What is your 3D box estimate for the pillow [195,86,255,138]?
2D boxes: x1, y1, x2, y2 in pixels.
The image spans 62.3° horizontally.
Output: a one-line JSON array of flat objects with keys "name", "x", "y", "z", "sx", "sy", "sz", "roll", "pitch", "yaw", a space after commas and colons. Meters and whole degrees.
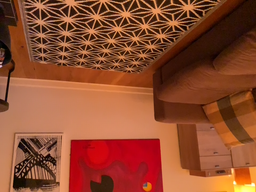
[{"name": "pillow", "x": 1.000, "y": 0.180, "z": 2.080, "sx": 0.200, "sy": 0.410, "sz": 0.540, "roll": -25, "pitch": -177, "yaw": -30}]
